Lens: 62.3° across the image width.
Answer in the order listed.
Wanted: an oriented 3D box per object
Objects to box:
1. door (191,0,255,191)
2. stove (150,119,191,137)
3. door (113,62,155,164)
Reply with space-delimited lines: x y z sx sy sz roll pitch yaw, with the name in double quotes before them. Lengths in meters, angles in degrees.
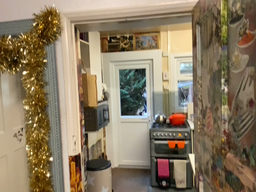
"door" 0.380 0.520 0.920 0.030 1.940 0.890 -2 4 7
"stove" 0.670 0.500 3.420 0.580 0.140 0.690 -2 4 9
"door" 0.110 0.330 3.950 0.710 1.870 0.050 -1 4 12
